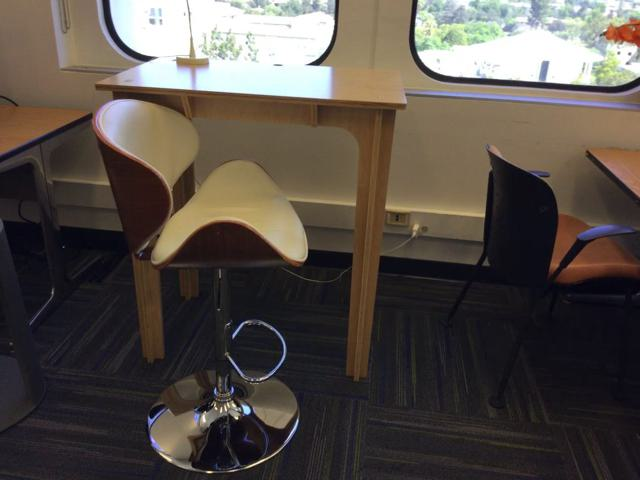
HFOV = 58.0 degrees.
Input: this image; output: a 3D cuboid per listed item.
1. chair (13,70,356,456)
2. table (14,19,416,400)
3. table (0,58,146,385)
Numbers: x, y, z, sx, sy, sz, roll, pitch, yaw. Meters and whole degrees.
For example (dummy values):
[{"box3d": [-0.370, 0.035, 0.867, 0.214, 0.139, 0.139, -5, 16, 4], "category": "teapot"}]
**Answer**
[{"box3d": [-0.280, 0.030, 1.680, 0.630, 0.890, 0.620, 0, 24, 13], "category": "chair"}, {"box3d": [-0.240, -0.140, 2.150, 1.120, 1.150, 0.730, 0, 24, 13], "category": "table"}, {"box3d": [-1.460, -0.150, 2.320, 0.920, 0.930, 1.060, 0, 24, 13], "category": "table"}]
